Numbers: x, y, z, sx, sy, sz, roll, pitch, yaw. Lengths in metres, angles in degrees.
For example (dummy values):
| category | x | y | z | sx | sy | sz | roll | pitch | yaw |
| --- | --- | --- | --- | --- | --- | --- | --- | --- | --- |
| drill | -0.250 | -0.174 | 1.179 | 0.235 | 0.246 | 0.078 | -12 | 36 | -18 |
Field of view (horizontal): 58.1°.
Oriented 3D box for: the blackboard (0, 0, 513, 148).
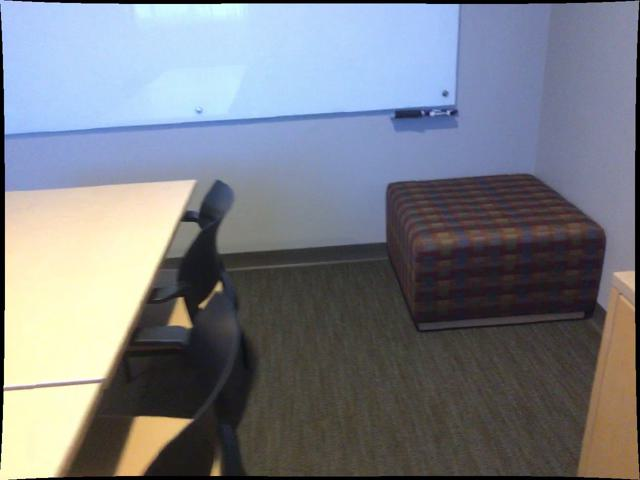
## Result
| category | x | y | z | sx | sy | sz | roll | pitch | yaw |
| --- | --- | --- | --- | --- | --- | --- | --- | --- | --- |
| blackboard | -0.469 | -1.132 | 2.410 | 2.606 | 1.362 | 0.110 | -5 | 25 | -3 |
